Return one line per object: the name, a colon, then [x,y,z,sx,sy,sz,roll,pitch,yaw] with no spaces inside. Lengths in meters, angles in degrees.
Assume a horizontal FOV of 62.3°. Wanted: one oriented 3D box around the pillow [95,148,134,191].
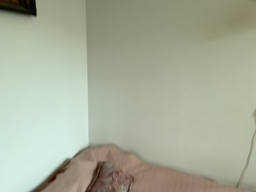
pillow: [-0.100,0.700,1.680,0.110,0.270,0.520,-37,21,24]
